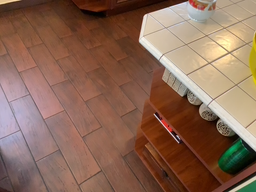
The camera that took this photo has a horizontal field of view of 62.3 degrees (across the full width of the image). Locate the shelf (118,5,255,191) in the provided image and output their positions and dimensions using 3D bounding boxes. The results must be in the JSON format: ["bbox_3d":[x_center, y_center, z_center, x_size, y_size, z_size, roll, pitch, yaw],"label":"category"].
[{"bbox_3d":[0.270,0.140,1.010,0.310,0.860,0.550,-27,60,-26],"label":"shelf"}]
